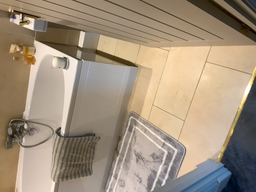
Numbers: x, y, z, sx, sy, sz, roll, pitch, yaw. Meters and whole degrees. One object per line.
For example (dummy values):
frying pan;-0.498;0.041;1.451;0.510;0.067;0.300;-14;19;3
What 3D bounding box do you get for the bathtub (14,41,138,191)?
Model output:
bathtub;-0.560;0.420;2.000;0.730;0.570;1.640;28;109;41
